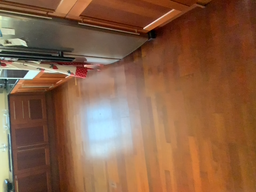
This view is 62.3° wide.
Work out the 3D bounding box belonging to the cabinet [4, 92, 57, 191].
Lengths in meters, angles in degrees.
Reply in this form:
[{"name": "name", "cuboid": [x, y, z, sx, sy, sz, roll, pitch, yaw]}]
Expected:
[{"name": "cabinet", "cuboid": [-2.200, 1.050, 4.770, 0.610, 0.870, 2.200, -12, 82, 54]}]
